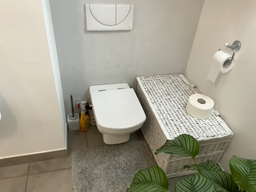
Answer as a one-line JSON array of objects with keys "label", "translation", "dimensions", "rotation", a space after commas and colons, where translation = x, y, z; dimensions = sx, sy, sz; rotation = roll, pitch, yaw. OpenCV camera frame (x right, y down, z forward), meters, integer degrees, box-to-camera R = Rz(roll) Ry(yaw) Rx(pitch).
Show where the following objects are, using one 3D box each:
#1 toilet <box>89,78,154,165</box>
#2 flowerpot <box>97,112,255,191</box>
[{"label": "toilet", "translation": [-0.090, 0.180, 1.740], "dimensions": [0.380, 0.400, 0.540], "rotation": [-6, 38, -15]}, {"label": "flowerpot", "translation": [0.350, 0.600, 1.130], "dimensions": [0.890, 0.600, 0.690], "rotation": [-8, 39, -17]}]
